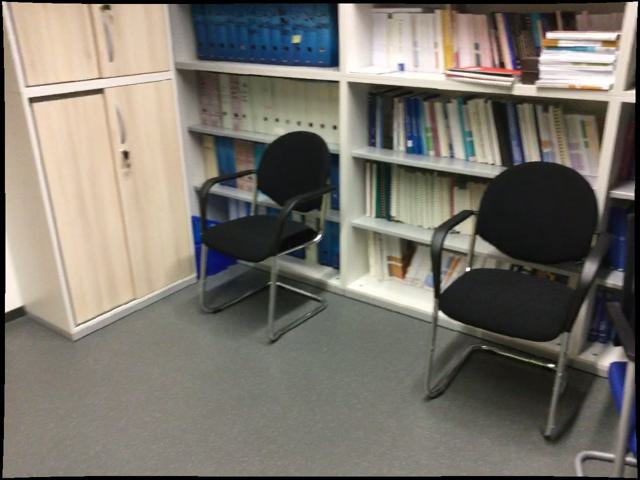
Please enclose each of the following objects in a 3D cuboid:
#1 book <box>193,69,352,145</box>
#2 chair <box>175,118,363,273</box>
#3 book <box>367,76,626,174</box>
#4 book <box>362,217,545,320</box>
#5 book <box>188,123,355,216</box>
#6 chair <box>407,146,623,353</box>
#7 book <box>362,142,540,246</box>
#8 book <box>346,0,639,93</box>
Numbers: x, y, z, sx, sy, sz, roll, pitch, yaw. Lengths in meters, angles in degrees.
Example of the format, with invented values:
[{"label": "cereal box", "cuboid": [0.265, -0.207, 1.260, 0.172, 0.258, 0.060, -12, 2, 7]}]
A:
[{"label": "book", "cuboid": [-0.290, -0.751, 3.190, 1.069, 0.320, 0.060, 14, 28, 33]}, {"label": "chair", "cuboid": [-0.210, -0.260, 2.810, 0.520, 0.490, 0.750, 14, 28, 33]}, {"label": "book", "cuboid": [0.759, -0.561, 2.680, 1.099, 0.300, 0.270, 14, 28, 33]}, {"label": "book", "cuboid": [0.629, 0.120, 2.890, 0.889, 0.280, 0.160, 14, 28, 33]}, {"label": "book", "cuboid": [-0.300, -0.420, 3.260, 1.089, 0.350, 0.140, 14, 28, 33]}, {"label": "chair", "cuboid": [0.739, -0.020, 2.180, 0.540, 0.470, 0.690, 14, 28, 33]}, {"label": "book", "cuboid": [0.619, -0.250, 2.850, 0.790, 0.320, 0.290, 14, 28, 33]}, {"label": "book", "cuboid": [0.719, -0.851, 2.460, 1.179, 0.310, 0.420, 14, 28, 33]}]
